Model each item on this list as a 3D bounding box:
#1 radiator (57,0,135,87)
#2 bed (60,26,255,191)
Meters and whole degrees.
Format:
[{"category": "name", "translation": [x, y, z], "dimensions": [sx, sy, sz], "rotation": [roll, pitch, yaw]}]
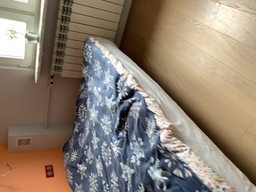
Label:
[{"category": "radiator", "translation": [-0.330, -0.610, 2.090], "dimensions": [0.180, 0.550, 1.080], "rotation": [56, 135, 47]}, {"category": "bed", "translation": [-0.020, 0.580, 1.620], "dimensions": [2.050, 0.470, 1.520], "rotation": [56, 135, 47]}]
